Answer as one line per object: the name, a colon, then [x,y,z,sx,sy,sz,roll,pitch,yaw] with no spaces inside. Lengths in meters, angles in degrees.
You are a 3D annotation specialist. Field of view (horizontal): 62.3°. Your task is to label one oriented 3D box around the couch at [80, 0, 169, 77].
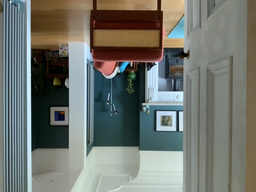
couch: [-0.050,-0.690,2.820,0.830,0.770,1.650,1,-178,-1]
